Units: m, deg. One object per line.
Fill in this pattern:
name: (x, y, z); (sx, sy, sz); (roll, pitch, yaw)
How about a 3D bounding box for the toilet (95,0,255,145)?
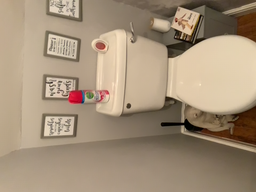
toilet: (0.340, -0.100, 1.100); (0.690, 0.770, 0.450); (7, 95, 56)
